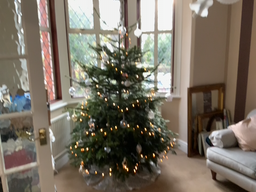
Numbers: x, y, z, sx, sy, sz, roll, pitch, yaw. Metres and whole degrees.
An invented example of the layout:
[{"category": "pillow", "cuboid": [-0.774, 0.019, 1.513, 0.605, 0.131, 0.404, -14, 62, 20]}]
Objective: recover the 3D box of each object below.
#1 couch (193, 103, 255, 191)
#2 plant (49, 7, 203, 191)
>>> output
[{"category": "couch", "cuboid": [1.680, 0.690, 2.410, 1.040, 0.840, 1.450, -7, 13, -26]}, {"category": "plant", "cuboid": [-0.090, 0.020, 2.850, 1.510, 1.930, 1.300, -7, 13, -27]}]
